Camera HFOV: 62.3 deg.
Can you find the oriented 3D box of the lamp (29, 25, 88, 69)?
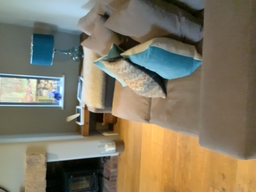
[{"bbox_3d":[-1.030,-0.690,3.140,0.450,0.740,0.460,5,92,62],"label":"lamp"}]
